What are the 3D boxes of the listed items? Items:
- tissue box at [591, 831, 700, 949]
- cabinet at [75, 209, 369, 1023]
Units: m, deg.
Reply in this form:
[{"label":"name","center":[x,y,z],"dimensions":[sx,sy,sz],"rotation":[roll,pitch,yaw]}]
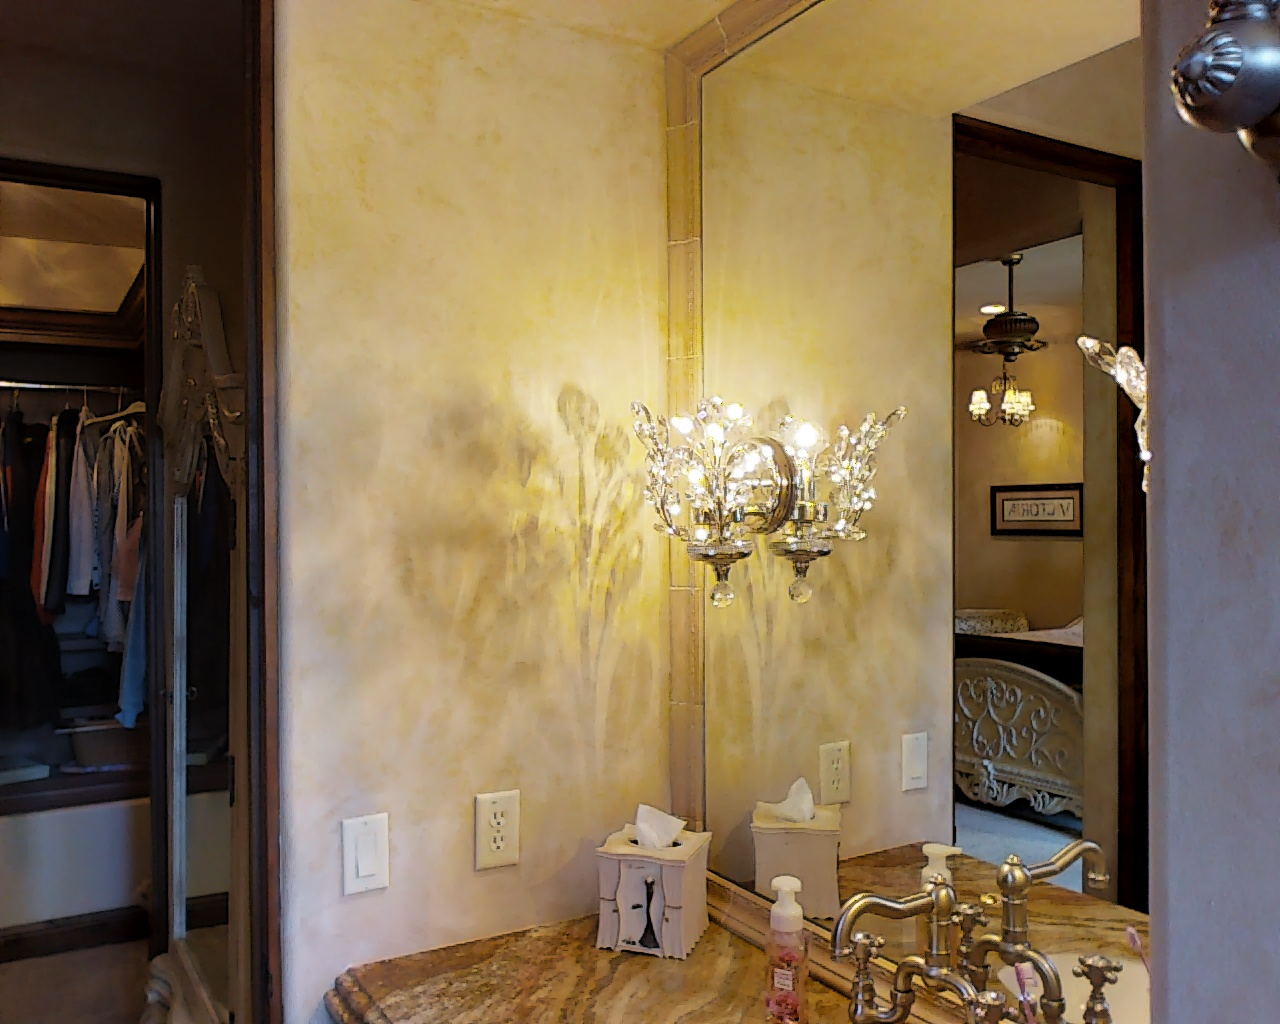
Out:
[{"label":"tissue box","center":[0.010,0.590,1.680],"dimensions":[0.150,0.140,0.100],"rotation":[-1,0,13]},{"label":"cabinet","center":[-1.430,0.410,3.510],"dimensions":[0.610,2.370,1.440],"rotation":[-1,1,-31]}]
